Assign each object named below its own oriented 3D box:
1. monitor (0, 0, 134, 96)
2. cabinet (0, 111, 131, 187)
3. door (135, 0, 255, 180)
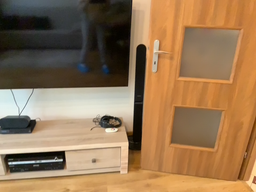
[{"bbox_3d":[-0.690,-0.450,1.570,1.450,0.860,0.120,-5,23,-7],"label":"monitor"},{"bbox_3d":[-0.780,0.440,1.910,1.520,0.330,0.590,-2,23,-9],"label":"cabinet"},{"bbox_3d":[0.560,-0.260,1.480,0.910,1.890,0.170,5,23,6],"label":"door"}]
